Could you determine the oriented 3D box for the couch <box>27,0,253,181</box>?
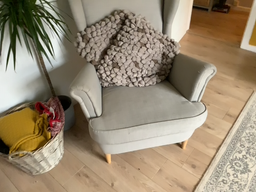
[{"bbox_3d":[0.000,-0.210,1.440,0.800,1.000,1.000,-7,41,-6],"label":"couch"}]

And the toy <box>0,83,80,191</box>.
[{"bbox_3d":[-0.640,0.250,1.370,0.440,0.380,0.400,-31,48,-29],"label":"toy"}]
